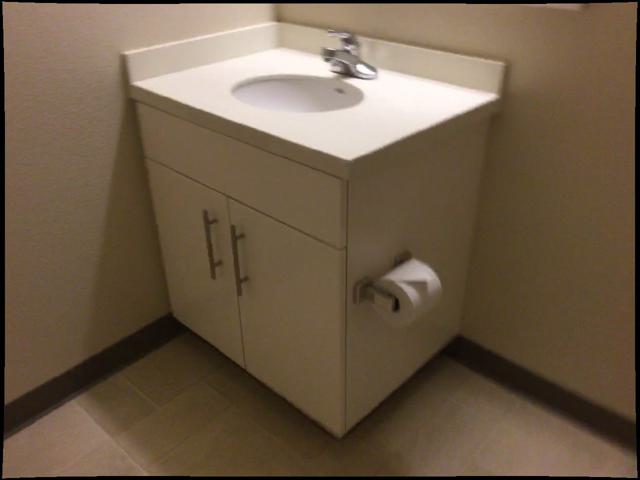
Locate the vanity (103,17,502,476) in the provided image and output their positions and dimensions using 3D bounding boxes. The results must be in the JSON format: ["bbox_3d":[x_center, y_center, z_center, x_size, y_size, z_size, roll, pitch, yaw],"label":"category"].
[{"bbox_3d":[-0.050,-0.050,1.670,0.809,0.972,0.580,23,38,35],"label":"vanity"}]
